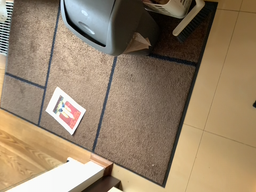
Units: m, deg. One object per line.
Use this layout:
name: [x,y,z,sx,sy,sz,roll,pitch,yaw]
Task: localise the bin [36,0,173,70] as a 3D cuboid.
bin: [-0.060,-0.330,0.980,0.330,0.530,0.300,25,104,22]
